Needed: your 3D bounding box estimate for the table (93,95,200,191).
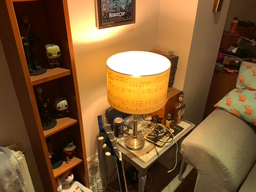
[{"bbox_3d":[0.130,0.410,1.560,0.440,0.550,0.590,27,38,37],"label":"table"}]
